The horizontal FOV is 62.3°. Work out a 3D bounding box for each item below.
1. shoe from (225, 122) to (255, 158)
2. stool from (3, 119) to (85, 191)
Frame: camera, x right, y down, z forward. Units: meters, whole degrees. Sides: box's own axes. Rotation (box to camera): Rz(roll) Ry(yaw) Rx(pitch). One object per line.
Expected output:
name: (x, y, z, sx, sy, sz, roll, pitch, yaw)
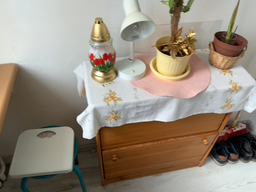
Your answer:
shoe: (0.870, 0.320, 1.560, 0.180, 0.080, 0.240, -4, 44, -7)
stool: (-0.410, 0.400, 1.170, 0.290, 0.480, 0.270, -4, 45, -7)
